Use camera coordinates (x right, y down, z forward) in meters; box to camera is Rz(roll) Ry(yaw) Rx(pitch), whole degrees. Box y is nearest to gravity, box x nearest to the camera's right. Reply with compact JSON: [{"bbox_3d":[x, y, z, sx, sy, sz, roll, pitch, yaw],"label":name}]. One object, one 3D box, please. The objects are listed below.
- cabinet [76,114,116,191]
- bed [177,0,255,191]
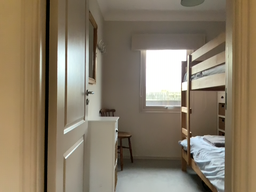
[{"bbox_3d":[-0.310,0.600,2.170,0.330,0.790,0.370,1,0,2],"label":"cabinet"},{"bbox_3d":[1.200,0.260,1.940,1.040,1.530,2.060,1,0,1],"label":"bed"}]
